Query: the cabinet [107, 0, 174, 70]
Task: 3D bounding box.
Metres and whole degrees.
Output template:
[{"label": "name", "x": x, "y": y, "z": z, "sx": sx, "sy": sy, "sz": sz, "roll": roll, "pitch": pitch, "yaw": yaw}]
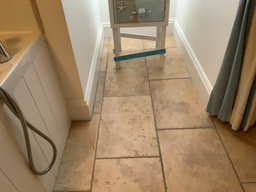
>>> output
[{"label": "cabinet", "x": 0.080, "y": -0.730, "z": 1.540, "sx": 0.430, "sy": 0.980, "sz": 0.420, "roll": -2, "pitch": 39, "yaw": 2}]
